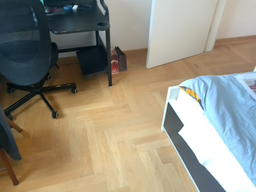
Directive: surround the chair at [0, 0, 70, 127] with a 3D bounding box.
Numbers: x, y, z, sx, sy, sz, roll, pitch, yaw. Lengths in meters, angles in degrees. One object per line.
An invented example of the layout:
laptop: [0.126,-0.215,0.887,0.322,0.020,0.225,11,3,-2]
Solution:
chair: [-0.860,-0.370,1.710,0.560,0.990,0.650,-10,43,-13]
